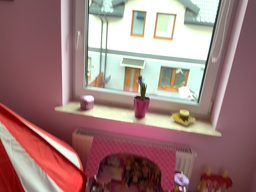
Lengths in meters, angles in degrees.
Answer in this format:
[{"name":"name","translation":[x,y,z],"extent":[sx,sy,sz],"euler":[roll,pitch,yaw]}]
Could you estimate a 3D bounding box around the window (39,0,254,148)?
[{"name":"window","translation":[0.070,-0.470,1.400],"extent":[1.290,1.580,0.150],"euler":[8,20,4]}]
